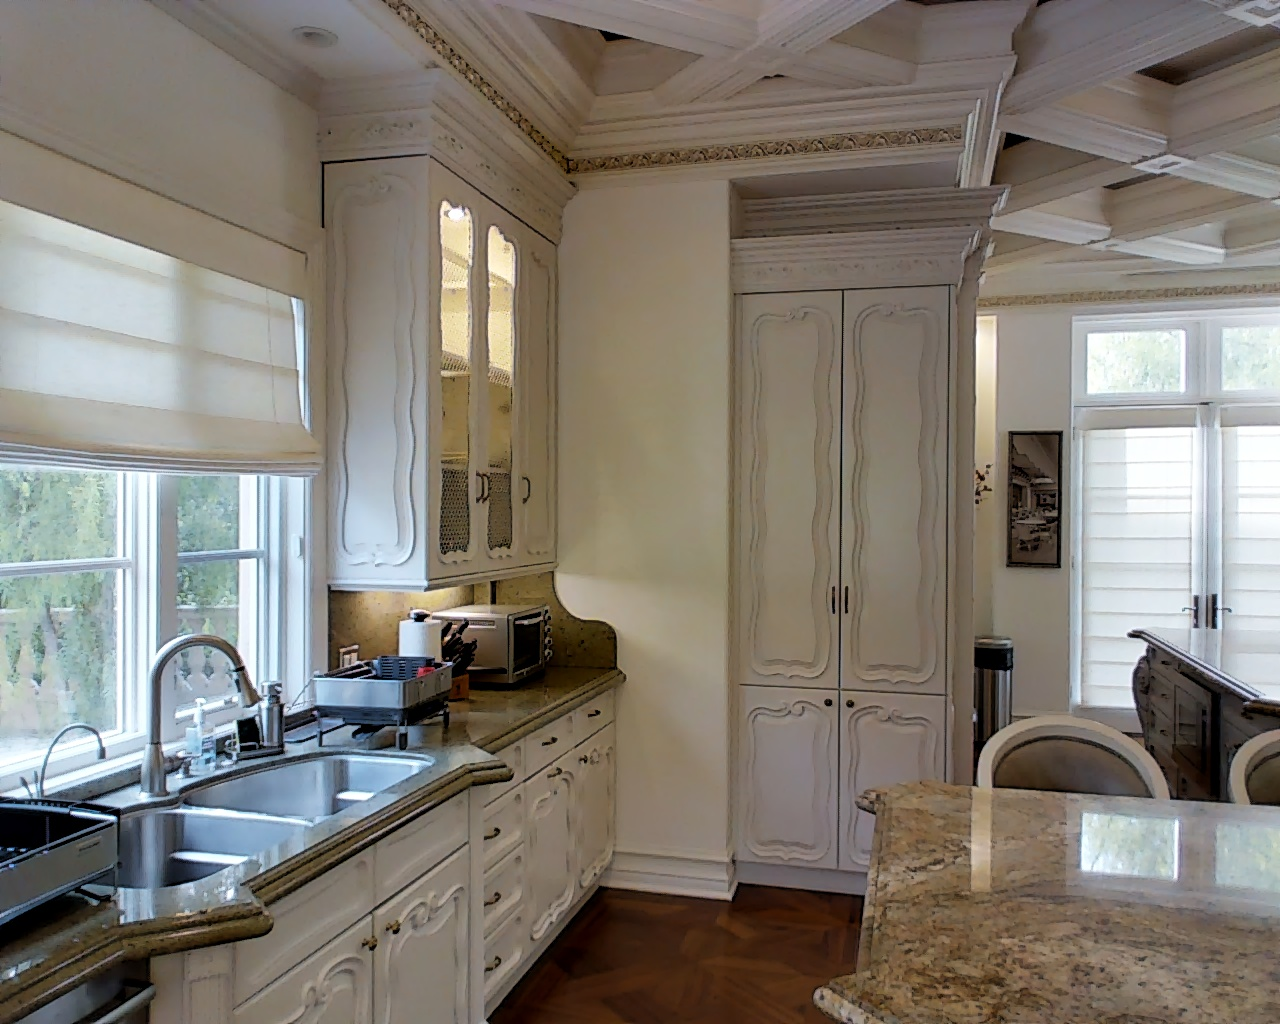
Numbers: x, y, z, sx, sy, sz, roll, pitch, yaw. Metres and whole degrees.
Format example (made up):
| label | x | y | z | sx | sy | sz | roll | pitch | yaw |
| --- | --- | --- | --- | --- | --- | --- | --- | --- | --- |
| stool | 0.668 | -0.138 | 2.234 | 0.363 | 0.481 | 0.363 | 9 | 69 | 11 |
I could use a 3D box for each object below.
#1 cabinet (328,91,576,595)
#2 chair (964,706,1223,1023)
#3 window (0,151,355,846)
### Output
| label | x | y | z | sx | sy | sz | roll | pitch | yaw |
| --- | --- | --- | --- | --- | --- | --- | --- | --- | --- |
| cabinet | -0.660 | -0.550 | 4.140 | 0.410 | 1.620 | 1.310 | 0 | 1 | 16 |
| chair | 1.190 | 1.130 | 2.930 | 0.570 | 1.050 | 0.670 | 0 | 1 | 16 |
| window | -1.320 | -0.030 | 2.630 | 0.240 | 1.430 | 1.930 | 0 | 1 | 16 |
